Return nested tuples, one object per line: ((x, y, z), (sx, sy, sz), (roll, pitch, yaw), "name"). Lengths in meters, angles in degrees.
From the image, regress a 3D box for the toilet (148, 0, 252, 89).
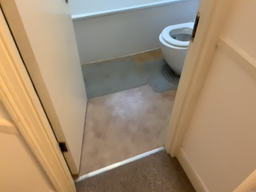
((0.610, -0.600, 1.960), (0.660, 0.880, 0.410), (-16, 48, -16), "toilet")

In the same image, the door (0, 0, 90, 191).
((-0.350, -0.260, 0.970), (0.070, 2.090, 0.840), (-2, 47, -3), "door")
